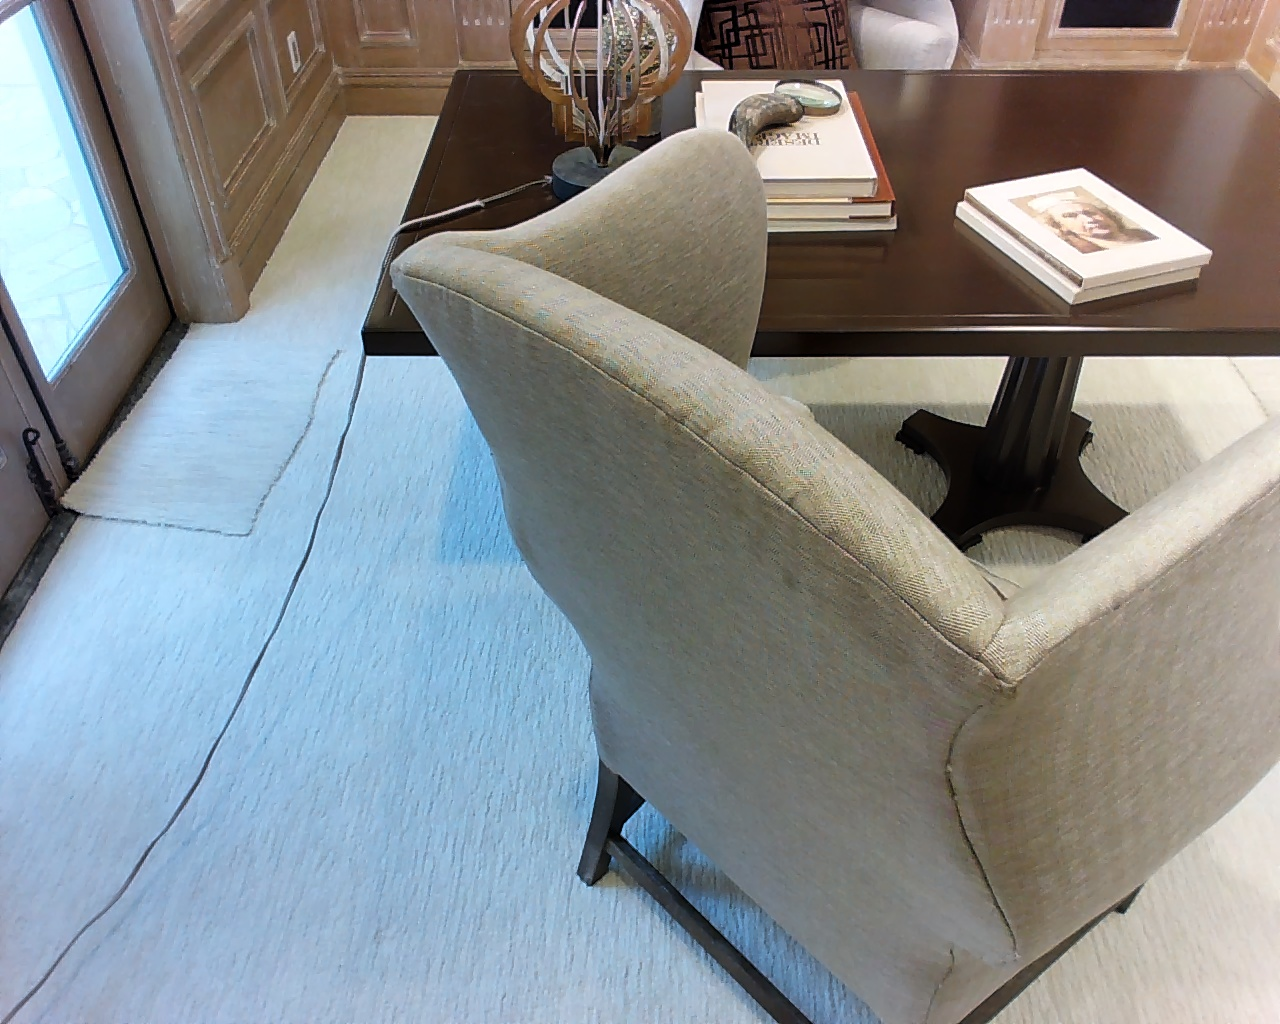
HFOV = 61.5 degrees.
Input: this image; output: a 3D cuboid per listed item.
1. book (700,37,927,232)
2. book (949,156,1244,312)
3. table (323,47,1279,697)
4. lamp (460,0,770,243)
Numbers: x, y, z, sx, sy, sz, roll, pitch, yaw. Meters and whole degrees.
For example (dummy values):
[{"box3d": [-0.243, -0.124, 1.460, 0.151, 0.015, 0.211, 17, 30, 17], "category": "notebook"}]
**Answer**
[{"box3d": [0.290, -0.700, 1.960, 0.350, 0.150, 0.510, 0, 42, 2], "category": "book"}, {"box3d": [0.740, -0.470, 1.780, 0.290, 0.050, 0.360, -15, 44, -15], "category": "book"}, {"box3d": [0.480, -0.340, 2.220, 1.830, 0.800, 1.160, 0, 42, 2], "category": "table"}, {"box3d": [-0.030, -0.880, 1.710, 0.440, 0.740, 0.480, 0, 42, 2], "category": "lamp"}]
